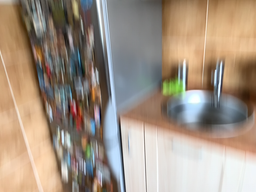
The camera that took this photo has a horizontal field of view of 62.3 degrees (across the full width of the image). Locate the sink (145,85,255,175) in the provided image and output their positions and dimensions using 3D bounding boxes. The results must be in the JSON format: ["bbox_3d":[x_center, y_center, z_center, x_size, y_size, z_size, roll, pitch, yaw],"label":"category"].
[{"bbox_3d":[0.430,0.130,1.180,0.480,0.160,0.510,11,27,31],"label":"sink"}]
